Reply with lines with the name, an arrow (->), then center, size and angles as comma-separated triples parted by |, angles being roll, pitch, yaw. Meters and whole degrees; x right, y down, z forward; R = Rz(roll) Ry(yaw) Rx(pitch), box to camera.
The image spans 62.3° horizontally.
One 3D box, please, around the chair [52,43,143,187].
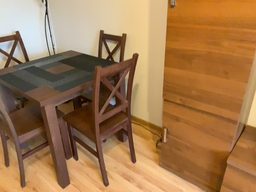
chair -> -0.200, 0.130, 1.650 | 0.470, 0.930, 0.400 | 22, 35, 37
